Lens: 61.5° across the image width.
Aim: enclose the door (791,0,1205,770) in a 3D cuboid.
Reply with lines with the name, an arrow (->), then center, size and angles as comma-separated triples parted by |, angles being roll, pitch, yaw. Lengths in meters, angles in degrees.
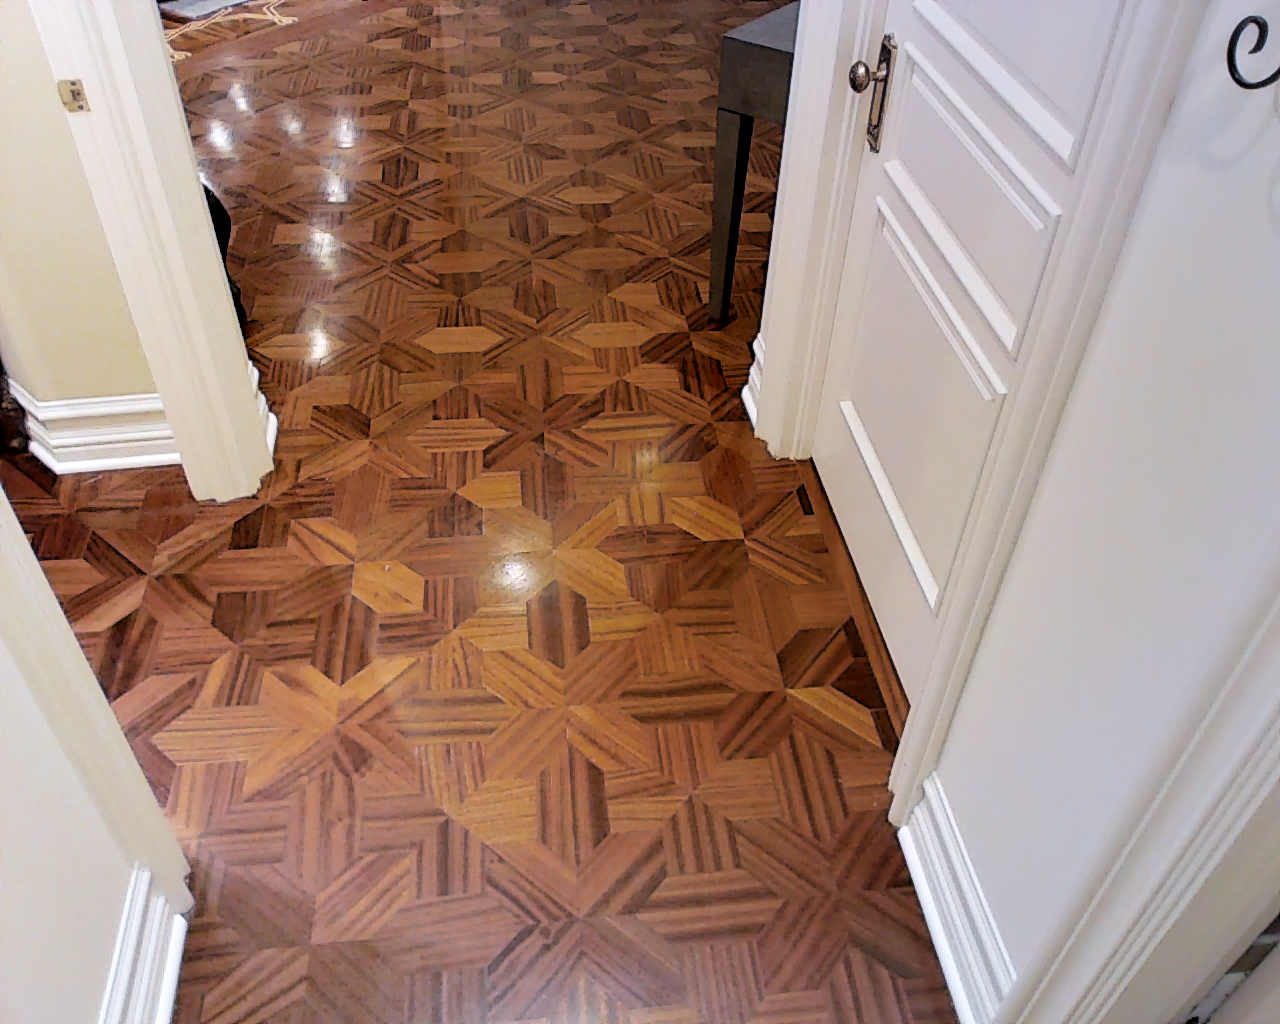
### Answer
door -> 0.490, -0.670, 1.580 | 0.070, 2.280, 0.900 | -4, 42, -6
